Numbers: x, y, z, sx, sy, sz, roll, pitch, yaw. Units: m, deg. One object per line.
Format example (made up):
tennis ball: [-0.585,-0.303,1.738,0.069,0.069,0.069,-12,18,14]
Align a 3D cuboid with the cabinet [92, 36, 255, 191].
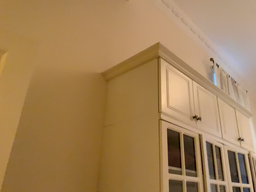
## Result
cabinet: [0.530,0.970,1.480,1.560,2.190,0.580,23,-31,-39]
